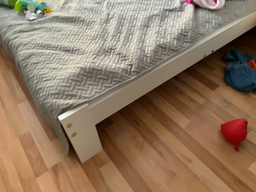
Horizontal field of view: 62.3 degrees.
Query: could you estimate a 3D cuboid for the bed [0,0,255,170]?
[{"bbox_3d":[-0.170,-0.780,1.750,1.710,0.380,2.080,-30,52,-21],"label":"bed"}]
